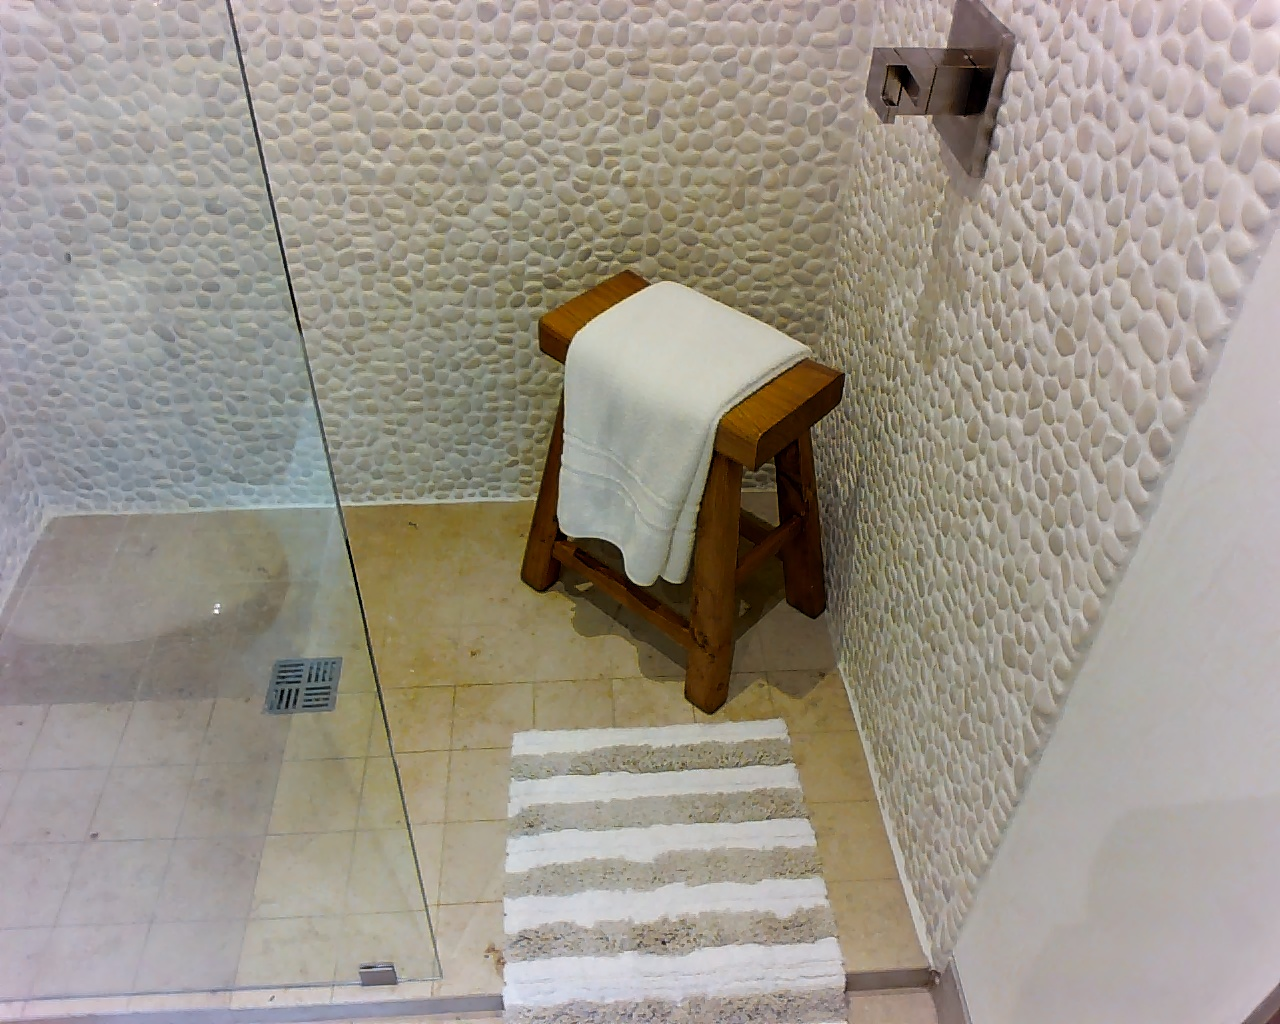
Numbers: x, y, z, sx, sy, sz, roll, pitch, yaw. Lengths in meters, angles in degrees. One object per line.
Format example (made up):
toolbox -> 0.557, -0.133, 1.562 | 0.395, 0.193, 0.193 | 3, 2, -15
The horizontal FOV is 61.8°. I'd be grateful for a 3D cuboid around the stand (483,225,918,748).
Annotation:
stand -> 0.090, -0.060, 2.040 | 0.460, 0.680, 0.580 | -32, 51, -31
